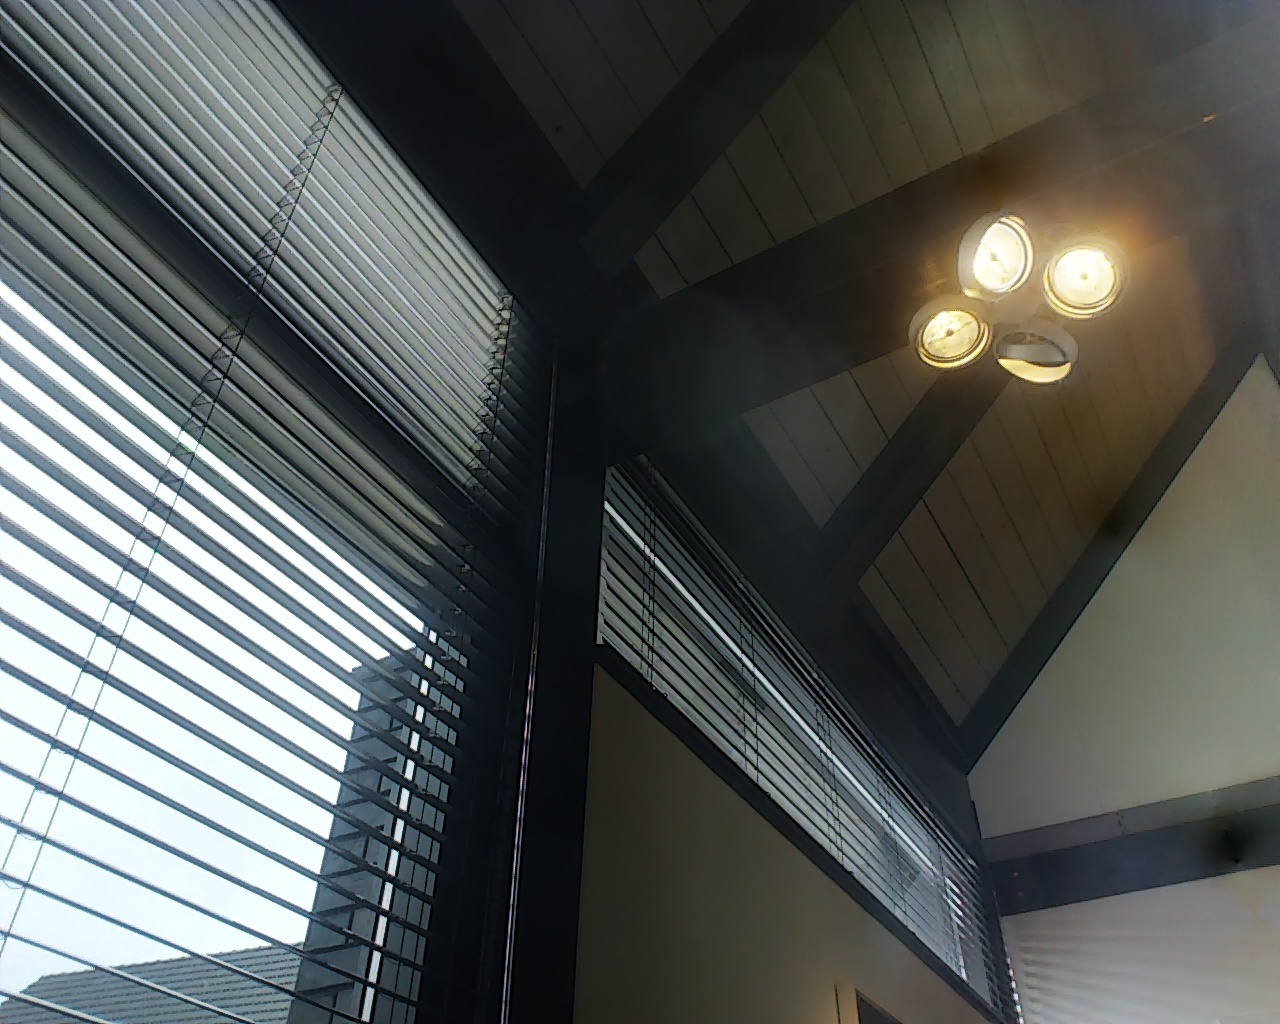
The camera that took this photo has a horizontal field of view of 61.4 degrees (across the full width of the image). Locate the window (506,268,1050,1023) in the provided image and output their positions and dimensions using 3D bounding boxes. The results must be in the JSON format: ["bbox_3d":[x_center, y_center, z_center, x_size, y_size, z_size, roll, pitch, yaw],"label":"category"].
[{"bbox_3d":[0.610,0.700,3.170,0.240,1.070,2.900,-20,-46,23],"label":"window"}]

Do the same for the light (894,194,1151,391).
[{"bbox_3d":[0.640,-0.350,1.800,0.330,0.180,0.340,-21,-1,23],"label":"light"}]
